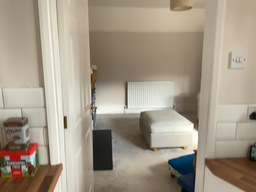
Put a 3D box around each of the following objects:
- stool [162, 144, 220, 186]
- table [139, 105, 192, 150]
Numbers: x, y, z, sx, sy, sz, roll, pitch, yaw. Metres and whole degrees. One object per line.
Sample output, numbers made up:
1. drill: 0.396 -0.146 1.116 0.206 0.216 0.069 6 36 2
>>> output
1. stool: 0.780 0.830 2.630 0.630 0.220 0.340 -6 13 -30
2. table: 0.600 0.500 3.700 0.630 0.460 0.940 -1 11 -8
